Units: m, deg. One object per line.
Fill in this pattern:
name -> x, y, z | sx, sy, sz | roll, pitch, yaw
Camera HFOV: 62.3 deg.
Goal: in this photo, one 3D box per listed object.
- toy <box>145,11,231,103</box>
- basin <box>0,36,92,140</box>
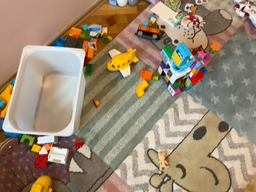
toy -> 0.280, -0.180, 1.090 | 0.250, 0.330, 0.250 | 34, 73, 9
basin -> -0.390, -0.030, 1.080 | 0.330, 0.250, 0.450 | 3, 71, -1
